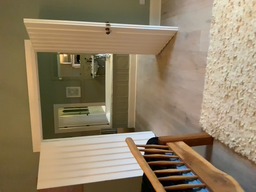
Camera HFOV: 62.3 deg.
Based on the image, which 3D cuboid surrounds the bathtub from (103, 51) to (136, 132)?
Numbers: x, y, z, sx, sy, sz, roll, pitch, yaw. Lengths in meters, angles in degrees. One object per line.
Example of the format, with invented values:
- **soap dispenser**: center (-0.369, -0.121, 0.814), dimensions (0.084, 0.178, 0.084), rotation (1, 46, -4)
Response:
- **bathtub**: center (-0.240, -0.160, 5.360), dimensions (0.820, 0.630, 1.910), rotation (-141, 50, -70)
